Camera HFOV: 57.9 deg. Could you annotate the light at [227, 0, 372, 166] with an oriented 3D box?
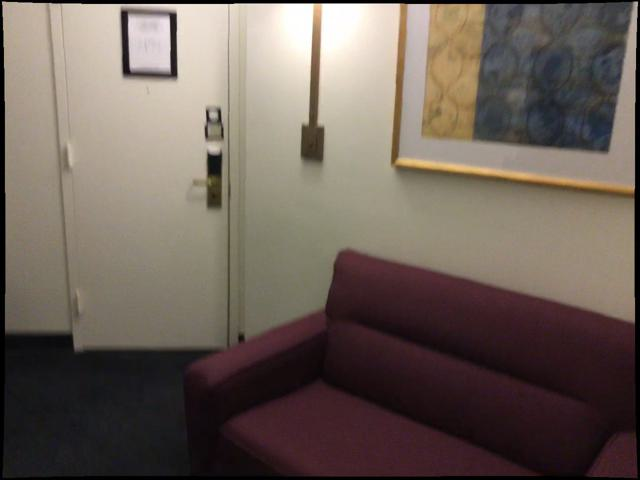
[{"bbox_3d":[-0.100,-0.761,2.350,0.570,0.831,0.220,15,20,36],"label":"light"}]
